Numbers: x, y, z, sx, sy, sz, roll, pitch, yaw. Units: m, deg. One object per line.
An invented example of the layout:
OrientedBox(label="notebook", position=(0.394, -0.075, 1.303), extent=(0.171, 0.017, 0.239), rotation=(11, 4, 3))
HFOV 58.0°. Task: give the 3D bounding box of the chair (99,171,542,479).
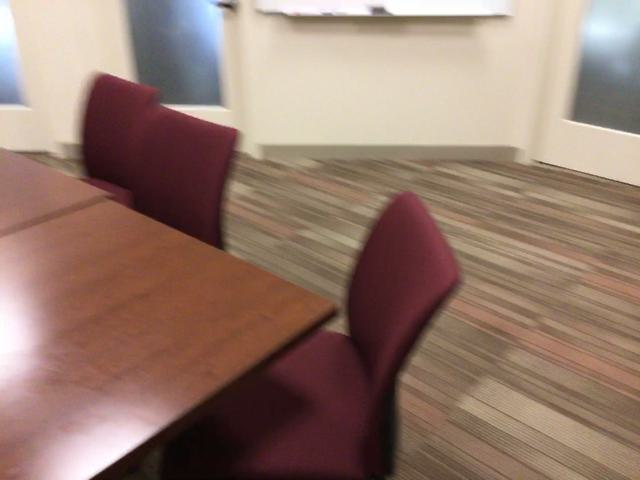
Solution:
OrientedBox(label="chair", position=(-0.030, 0.350, 1.240), extent=(0.630, 0.850, 0.510), rotation=(-2, 29, -7))

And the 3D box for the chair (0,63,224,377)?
OrientedBox(label="chair", position=(-0.810, -0.120, 2.130), extent=(0.610, 0.860, 0.610), rotation=(23, 35, 33))
